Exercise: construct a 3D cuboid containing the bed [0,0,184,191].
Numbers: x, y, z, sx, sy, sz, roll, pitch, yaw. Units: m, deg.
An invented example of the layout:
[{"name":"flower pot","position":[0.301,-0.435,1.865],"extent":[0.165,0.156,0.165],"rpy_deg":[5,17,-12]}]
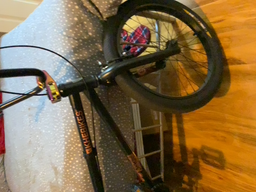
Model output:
[{"name":"bed","position":[-0.580,0.200,1.690],"extent":[2.010,0.600,1.500],"rpy_deg":[4,97,50]}]
